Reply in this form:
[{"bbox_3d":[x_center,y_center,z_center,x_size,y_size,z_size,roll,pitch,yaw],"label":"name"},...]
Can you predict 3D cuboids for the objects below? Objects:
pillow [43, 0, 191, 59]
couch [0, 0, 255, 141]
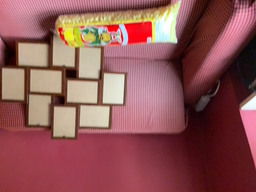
[{"bbox_3d":[-0.050,-0.320,1.060,0.640,0.130,0.250,1,152,-2],"label":"pillow"},{"bbox_3d":[-0.190,-0.270,1.240,1.430,0.790,1.030,1,152,-3],"label":"couch"}]
